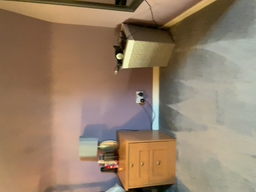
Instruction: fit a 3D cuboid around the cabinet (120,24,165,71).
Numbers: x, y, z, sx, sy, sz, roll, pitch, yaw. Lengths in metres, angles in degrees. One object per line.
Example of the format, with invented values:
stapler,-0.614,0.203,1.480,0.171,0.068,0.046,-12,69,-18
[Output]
cabinet,0.150,-0.520,2.400,0.450,0.380,0.410,175,94,-75
